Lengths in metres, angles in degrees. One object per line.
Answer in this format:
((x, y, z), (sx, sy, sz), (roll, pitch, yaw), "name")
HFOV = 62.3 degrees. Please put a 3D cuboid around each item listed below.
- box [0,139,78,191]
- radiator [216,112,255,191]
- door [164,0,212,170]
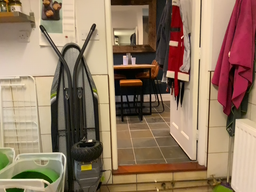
((-0.650, 0.720, 1.460), (0.470, 0.630, 0.600), (-2, 10, -3), "box")
((0.890, 0.530, 1.590), (0.130, 0.680, 0.630), (-2, 10, -3), "radiator")
((0.590, -0.520, 2.300), (0.130, 2.280, 1.050), (-2, 10, -4), "door")
